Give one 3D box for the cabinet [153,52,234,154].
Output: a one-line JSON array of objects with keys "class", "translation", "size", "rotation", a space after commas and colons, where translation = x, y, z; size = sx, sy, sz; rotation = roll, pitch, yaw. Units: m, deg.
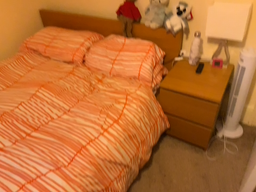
[{"class": "cabinet", "translation": [0.520, 0.030, 1.730], "size": [0.440, 0.530, 0.520], "rotation": [18, 44, 25]}]
